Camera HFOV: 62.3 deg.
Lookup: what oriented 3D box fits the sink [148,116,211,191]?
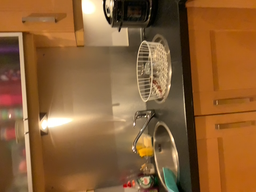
[{"bbox_3d":[0.280,0.360,1.280,0.480,0.160,0.440,171,95,-79],"label":"sink"}]

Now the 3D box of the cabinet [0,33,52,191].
[{"bbox_3d":[-0.760,0.180,1.210,0.320,0.510,0.980,171,95,-79],"label":"cabinet"}]

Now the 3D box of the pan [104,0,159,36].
[{"bbox_3d":[0.010,-0.500,1.220,0.200,0.260,0.240,171,95,-79],"label":"pan"}]
